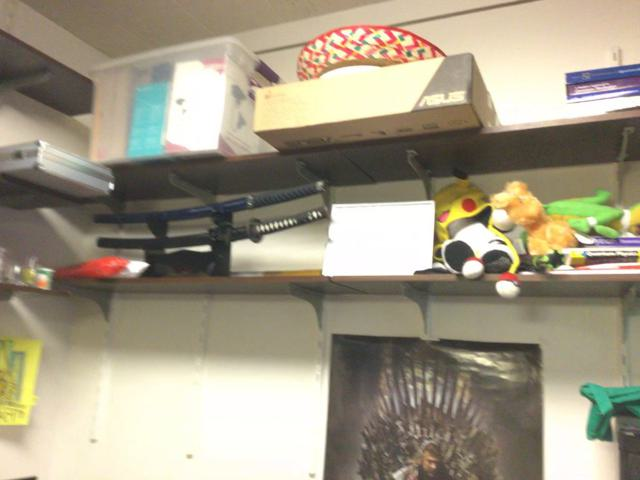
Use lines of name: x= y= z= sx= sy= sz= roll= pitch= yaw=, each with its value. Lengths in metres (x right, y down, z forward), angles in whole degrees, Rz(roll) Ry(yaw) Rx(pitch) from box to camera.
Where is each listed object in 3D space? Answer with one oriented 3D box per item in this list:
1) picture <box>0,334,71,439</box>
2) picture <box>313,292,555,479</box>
picture: x=-1.000 y=0.480 z=1.920 sx=0.100 sy=0.320 sz=0.280 roll=-1 pitch=-12 yaw=25
picture: x=0.280 y=0.690 z=1.540 sx=0.640 sy=1.090 sz=0.040 roll=-1 pitch=-12 yaw=25
